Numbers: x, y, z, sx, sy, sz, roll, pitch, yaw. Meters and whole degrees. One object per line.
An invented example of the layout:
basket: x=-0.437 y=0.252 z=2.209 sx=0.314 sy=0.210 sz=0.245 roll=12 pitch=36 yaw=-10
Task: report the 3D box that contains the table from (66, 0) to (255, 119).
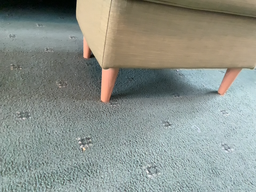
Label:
table: x=0.150 y=-0.250 z=0.690 sx=0.620 sy=0.430 sz=0.410 roll=-3 pitch=39 yaw=-23
